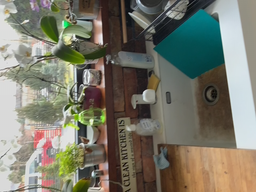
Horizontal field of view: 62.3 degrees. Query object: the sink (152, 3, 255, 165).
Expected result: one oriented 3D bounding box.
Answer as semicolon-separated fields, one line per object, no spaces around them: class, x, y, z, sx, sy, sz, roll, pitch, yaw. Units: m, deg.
sink;0.340;-0.020;0.940;0.420;0.220;0.550;-21;71;62
